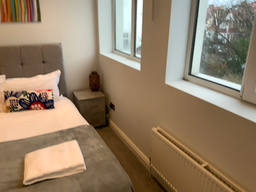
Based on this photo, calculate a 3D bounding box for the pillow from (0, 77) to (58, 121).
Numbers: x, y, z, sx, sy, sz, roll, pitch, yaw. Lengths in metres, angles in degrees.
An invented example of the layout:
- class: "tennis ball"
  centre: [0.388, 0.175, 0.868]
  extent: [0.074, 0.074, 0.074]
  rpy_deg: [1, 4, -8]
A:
- class: "pillow"
  centre: [-1.190, 0.030, 2.590]
  extent: [0.570, 0.270, 0.160]
  rpy_deg: [-27, 31, -14]

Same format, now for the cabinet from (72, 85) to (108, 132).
- class: "cabinet"
  centre: [-0.580, 0.170, 3.230]
  extent: [0.400, 0.520, 0.440]
  rpy_deg: [-10, 24, -26]
